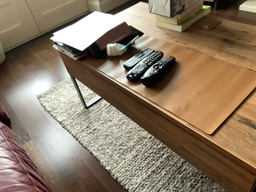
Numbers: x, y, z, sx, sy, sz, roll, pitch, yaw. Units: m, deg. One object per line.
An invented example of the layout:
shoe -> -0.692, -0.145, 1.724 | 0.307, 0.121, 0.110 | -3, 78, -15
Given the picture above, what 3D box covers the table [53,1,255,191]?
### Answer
table -> 0.210, -0.050, 1.040 | 0.610, 0.470, 0.990 | -37, 47, -24
